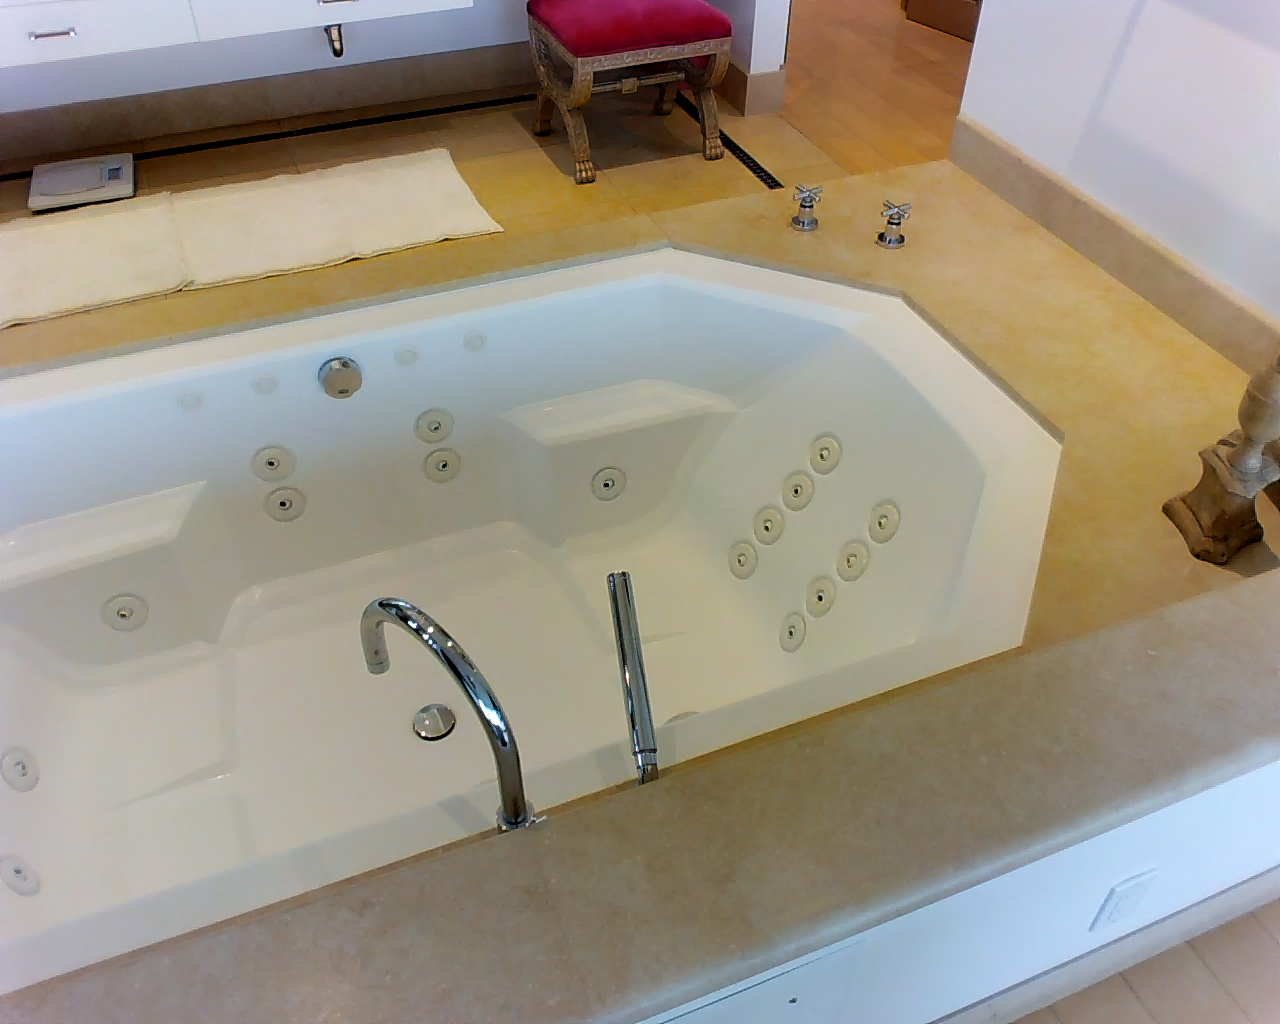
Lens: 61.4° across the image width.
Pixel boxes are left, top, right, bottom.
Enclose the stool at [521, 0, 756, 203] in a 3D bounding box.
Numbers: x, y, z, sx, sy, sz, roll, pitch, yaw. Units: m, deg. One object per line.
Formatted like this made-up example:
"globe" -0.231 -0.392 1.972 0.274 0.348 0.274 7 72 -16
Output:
"stool" -0.020 -1.440 3.550 0.580 0.540 0.550 -15 45 -15
